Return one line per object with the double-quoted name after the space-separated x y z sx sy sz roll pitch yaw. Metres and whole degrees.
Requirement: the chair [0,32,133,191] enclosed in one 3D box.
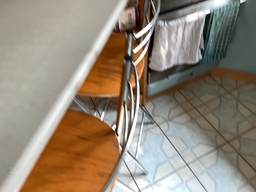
-0.190 0.320 0.700 0.300 0.910 0.400 11 50 12 "chair"
